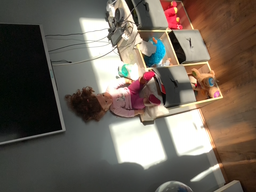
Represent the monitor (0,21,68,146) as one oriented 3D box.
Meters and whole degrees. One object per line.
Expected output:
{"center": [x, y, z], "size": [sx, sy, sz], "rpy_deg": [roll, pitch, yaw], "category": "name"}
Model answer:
{"center": [-0.640, -0.110, 1.200], "size": [0.030, 0.430, 0.730], "rpy_deg": [-42, 62, 59], "category": "monitor"}
